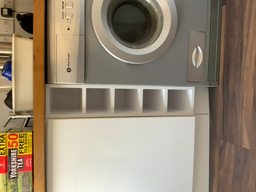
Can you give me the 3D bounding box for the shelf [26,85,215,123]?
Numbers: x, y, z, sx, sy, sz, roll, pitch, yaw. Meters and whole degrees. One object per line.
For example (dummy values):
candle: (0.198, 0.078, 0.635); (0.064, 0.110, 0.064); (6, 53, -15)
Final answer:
shelf: (-0.060, 0.020, 1.280); (0.570, 0.930, 0.140); (-166, 77, -72)
